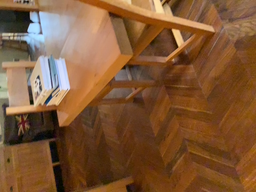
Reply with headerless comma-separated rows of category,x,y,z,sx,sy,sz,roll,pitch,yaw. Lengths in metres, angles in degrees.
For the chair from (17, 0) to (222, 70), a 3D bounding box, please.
chair,-0.030,-0.490,1.260,0.480,1.030,0.460,-41,60,48
